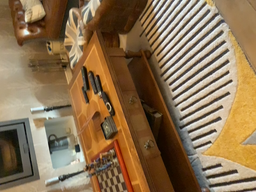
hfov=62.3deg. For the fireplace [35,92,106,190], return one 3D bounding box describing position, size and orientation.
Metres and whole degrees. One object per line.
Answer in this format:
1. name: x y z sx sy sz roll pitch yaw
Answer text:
1. fireplace: -0.830 0.600 2.850 0.740 0.540 1.030 -45 59 50
